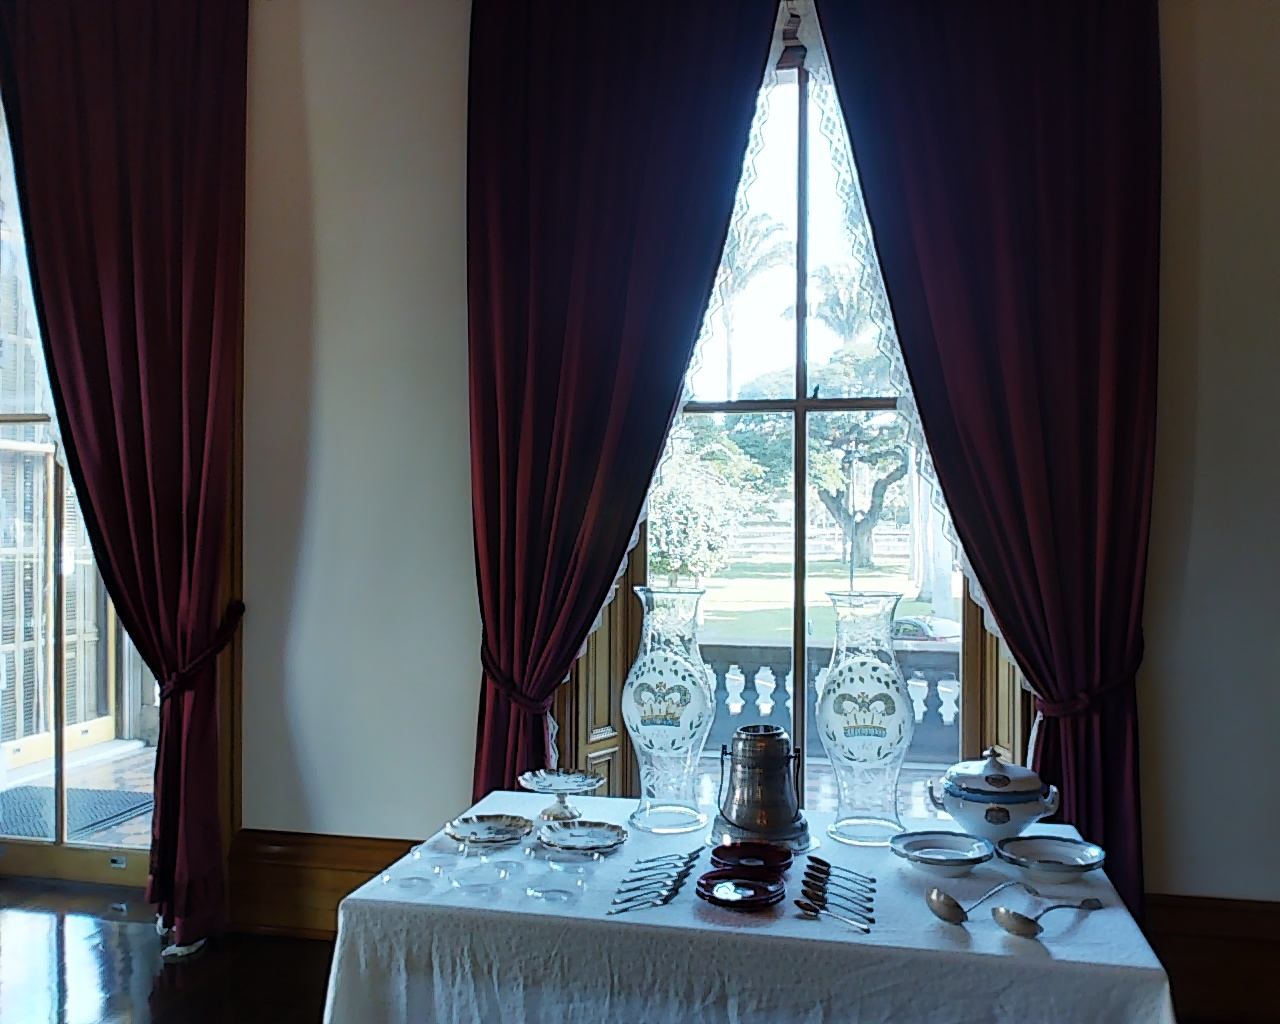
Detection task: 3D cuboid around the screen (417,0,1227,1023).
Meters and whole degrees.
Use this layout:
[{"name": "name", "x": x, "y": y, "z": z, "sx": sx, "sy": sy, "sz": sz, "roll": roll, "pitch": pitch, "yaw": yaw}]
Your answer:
[{"name": "screen", "x": 0.520, "y": -0.630, "z": 3.580, "sx": 2.540, "sy": 4.321, "sz": 0.270, "roll": 1, "pitch": 0, "yaw": 11}]

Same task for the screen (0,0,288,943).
[{"name": "screen", "x": -2.700, "y": -0.550, "z": 4.240, "sx": 2.690, "sy": 4.181, "sz": 0.260, "roll": 1, "pitch": 0, "yaw": 11}]
